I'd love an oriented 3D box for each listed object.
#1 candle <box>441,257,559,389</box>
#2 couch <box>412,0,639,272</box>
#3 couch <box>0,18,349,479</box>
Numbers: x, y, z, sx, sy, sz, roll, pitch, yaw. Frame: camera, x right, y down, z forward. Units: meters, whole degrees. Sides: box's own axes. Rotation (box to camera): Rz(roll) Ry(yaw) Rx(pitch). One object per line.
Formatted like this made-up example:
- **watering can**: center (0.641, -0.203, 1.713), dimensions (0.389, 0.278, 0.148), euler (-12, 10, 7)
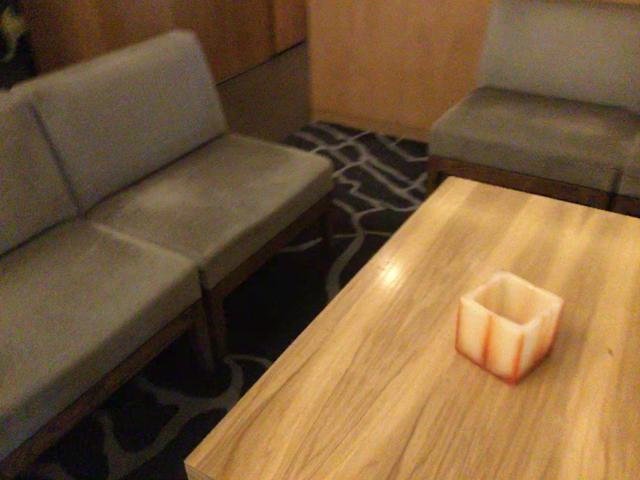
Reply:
- **candle**: center (0.360, 0.160, 1.160), dimensions (0.160, 0.140, 0.180), euler (18, 39, 28)
- **couch**: center (1.180, -0.440, 2.140), dimensions (1.470, 0.830, 0.690), euler (18, 39, 28)
- **couch**: center (-0.620, -0.050, 1.750), dimensions (0.730, 0.810, 1.510), euler (18, 39, 28)
